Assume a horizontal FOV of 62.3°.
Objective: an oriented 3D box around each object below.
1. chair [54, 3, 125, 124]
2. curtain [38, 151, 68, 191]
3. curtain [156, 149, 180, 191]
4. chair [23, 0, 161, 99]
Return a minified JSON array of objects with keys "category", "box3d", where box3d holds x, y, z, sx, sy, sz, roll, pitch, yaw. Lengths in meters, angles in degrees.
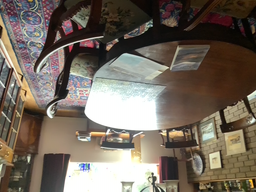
[{"category":"chair","box3d":[-0.330,-0.260,1.880,0.500,0.880,0.470,6,157,-14]},{"category":"curtain","box3d":[-1.410,1.760,3.910,0.440,1.420,0.140,5,156,-12]},{"category":"curtain","box3d":[0.850,1.930,4.430,0.400,1.570,0.170,7,156,-17]},{"category":"chair","box3d":[-0.170,-0.520,1.280,0.480,0.880,0.530,-15,154,31]}]
